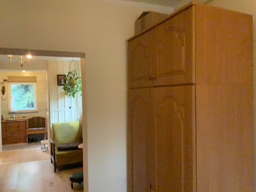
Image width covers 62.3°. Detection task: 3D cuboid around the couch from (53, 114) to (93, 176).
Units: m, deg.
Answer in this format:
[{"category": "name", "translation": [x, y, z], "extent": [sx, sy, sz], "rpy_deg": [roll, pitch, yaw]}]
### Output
[{"category": "couch", "translation": [-1.320, 1.070, 5.010], "extent": [0.790, 1.180, 0.900], "rpy_deg": [-2, 2, -22]}]
